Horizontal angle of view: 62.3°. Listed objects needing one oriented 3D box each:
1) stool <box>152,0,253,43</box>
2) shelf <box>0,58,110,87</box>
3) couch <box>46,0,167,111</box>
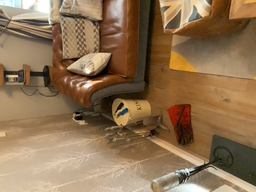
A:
[{"bbox_3d":[0.470,-0.670,1.380,0.480,0.400,0.520,3,96,53],"label":"stool"},{"bbox_3d":[-0.980,-0.260,2.290,0.220,1.680,0.260,19,109,51],"label":"shelf"},{"bbox_3d":[-0.240,-0.890,1.990,0.900,0.780,1.840,15,105,52],"label":"couch"}]
